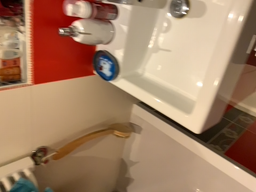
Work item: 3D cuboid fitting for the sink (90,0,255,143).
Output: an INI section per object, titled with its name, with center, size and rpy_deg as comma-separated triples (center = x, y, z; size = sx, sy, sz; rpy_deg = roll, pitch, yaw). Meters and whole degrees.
[sink]
center = 0.120, -0.260, 0.620
size = 0.460, 0.150, 0.620
rpy_deg = 31, 121, 35
